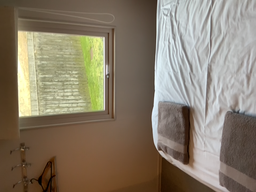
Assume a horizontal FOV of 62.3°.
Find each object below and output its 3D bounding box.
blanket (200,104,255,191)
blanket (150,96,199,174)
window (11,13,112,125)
[{"bbox_3d":[0.600,0.320,1.170,0.080,0.490,0.410,-3,-171,-27],"label":"blanket"},{"bbox_3d":[0.360,0.290,1.730,0.150,0.520,0.390,-3,-171,-26],"label":"blanket"},{"bbox_3d":[-0.690,-0.270,2.360,1.020,1.090,0.140,-3,-171,-26],"label":"window"}]
